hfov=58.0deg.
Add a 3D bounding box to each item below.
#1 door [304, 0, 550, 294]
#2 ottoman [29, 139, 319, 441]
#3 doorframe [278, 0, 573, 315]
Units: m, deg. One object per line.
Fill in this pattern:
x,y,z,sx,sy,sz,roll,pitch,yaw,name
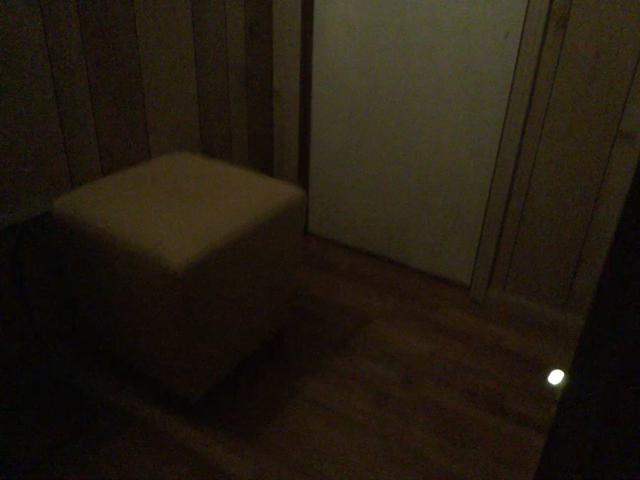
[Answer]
0.300,-0.790,1.810,0.810,2.010,0.050,16,34,28,door
-0.380,0.100,1.710,0.540,0.580,0.530,16,34,28,ottoman
0.280,-0.790,1.760,0.920,2.090,0.130,16,34,28,doorframe
